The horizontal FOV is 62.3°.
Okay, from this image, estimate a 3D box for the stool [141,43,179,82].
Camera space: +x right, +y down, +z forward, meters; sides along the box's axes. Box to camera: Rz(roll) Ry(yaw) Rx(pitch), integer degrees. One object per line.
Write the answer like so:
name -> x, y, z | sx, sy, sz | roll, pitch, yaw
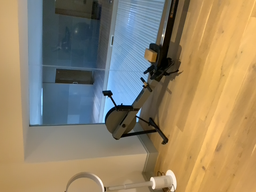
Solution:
stool -> 0.430, -0.470, 2.940 | 0.370, 0.320, 0.450 | -136, 50, -62
